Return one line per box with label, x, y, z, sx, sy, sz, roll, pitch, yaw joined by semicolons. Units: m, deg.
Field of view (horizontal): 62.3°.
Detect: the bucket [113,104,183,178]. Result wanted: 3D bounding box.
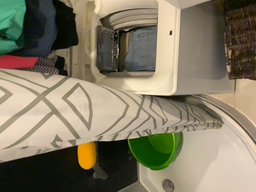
bucket;0.130;0.270;1.400;0.330;0.280;0.400;-6;87;40
